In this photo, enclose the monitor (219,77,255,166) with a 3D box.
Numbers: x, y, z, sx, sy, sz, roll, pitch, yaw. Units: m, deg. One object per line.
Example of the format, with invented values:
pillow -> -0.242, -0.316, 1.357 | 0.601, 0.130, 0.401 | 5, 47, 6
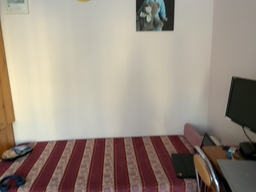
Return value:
monitor -> 0.750, 0.150, 1.310 | 0.030, 0.470, 0.520 | 1, 12, -8
